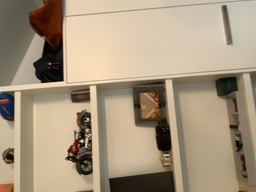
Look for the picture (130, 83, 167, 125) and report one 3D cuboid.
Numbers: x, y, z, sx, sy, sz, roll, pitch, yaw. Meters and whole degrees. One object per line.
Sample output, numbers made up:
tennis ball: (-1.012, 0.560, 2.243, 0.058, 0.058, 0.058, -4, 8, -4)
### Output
picture: (0.130, 0.050, 1.340, 0.040, 0.210, 0.250, 70, -164, -86)
